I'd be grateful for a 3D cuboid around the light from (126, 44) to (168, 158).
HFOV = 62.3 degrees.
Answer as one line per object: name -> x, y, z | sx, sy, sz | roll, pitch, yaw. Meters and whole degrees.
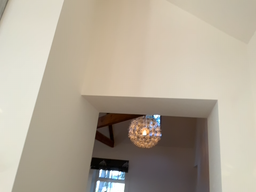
light -> 0.390, 0.090, 4.230 | 0.580, 2.130, 0.620 | 7, -20, -2
